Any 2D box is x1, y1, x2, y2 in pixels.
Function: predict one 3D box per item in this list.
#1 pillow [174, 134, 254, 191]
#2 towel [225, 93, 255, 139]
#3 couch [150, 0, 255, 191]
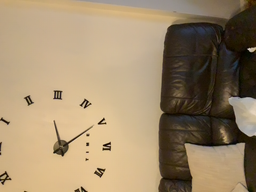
[{"bbox_3d":[0.620,0.560,1.540,0.410,0.370,0.140,-46,1,-12],"label":"pillow"},{"bbox_3d":[0.810,0.130,1.380,0.400,0.090,0.280,155,115,-76],"label":"towel"},{"bbox_3d":[0.770,0.410,1.550,1.050,0.920,1.990,174,97,-77],"label":"couch"}]
